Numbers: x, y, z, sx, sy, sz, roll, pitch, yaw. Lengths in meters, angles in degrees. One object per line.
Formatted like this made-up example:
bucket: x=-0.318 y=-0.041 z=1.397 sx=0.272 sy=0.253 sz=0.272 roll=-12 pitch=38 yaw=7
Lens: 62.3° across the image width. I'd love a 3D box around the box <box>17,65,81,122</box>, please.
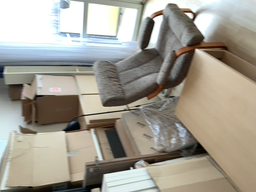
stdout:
box: x=-1.090 y=-0.060 z=2.950 sx=0.580 sy=0.730 sz=0.530 roll=-120 pitch=35 yaw=-49
